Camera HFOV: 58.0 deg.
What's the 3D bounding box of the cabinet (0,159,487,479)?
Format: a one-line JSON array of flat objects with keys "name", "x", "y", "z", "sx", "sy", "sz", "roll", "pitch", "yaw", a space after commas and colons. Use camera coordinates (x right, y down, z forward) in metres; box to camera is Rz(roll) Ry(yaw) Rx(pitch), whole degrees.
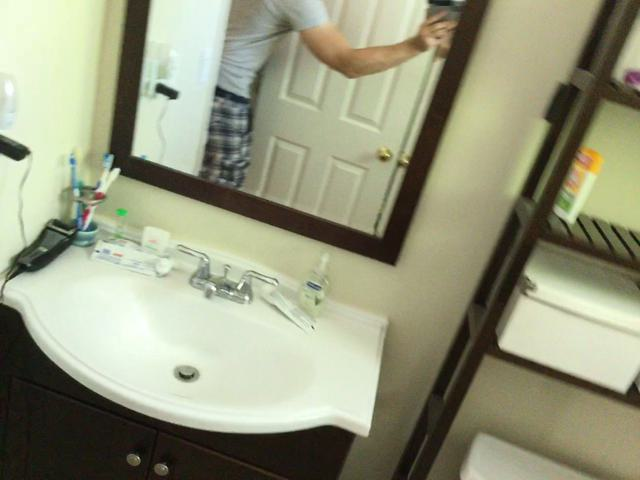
[{"name": "cabinet", "x": -0.290, "y": 0.500, "z": 1.320, "sx": 0.930, "sy": 1.050, "sz": 0.470, "roll": 18, "pitch": 22, "yaw": 3}]
